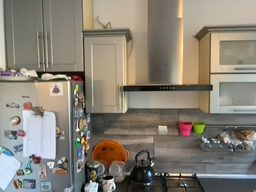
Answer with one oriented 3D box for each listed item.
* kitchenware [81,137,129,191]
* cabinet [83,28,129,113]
[{"bbox_3d":[-0.170,0.540,1.740,0.310,0.300,0.390,0,4,6],"label":"kitchenware"},{"bbox_3d":[-0.160,-0.190,1.700,0.310,0.610,0.300,0,4,5],"label":"cabinet"}]
